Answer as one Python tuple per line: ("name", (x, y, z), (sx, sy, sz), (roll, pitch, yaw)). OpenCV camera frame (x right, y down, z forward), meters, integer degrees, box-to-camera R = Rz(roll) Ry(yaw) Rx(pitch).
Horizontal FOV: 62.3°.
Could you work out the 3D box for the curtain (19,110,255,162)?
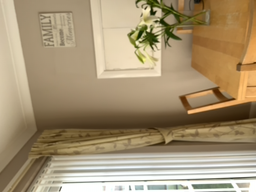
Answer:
("curtain", (0.160, 0.380, 2.110), (0.420, 2.250, 0.290), (-86, -6, -72))
